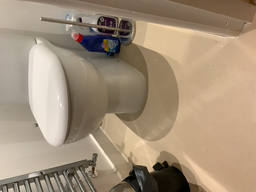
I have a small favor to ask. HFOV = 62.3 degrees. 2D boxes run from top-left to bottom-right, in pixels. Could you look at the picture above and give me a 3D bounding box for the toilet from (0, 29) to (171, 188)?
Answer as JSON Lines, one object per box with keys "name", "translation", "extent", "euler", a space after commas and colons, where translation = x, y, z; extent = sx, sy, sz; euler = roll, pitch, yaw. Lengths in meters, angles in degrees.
{"name": "toilet", "translation": [-0.360, -0.030, 0.950], "extent": [0.630, 0.810, 0.390], "euler": [36, 123, 47]}
